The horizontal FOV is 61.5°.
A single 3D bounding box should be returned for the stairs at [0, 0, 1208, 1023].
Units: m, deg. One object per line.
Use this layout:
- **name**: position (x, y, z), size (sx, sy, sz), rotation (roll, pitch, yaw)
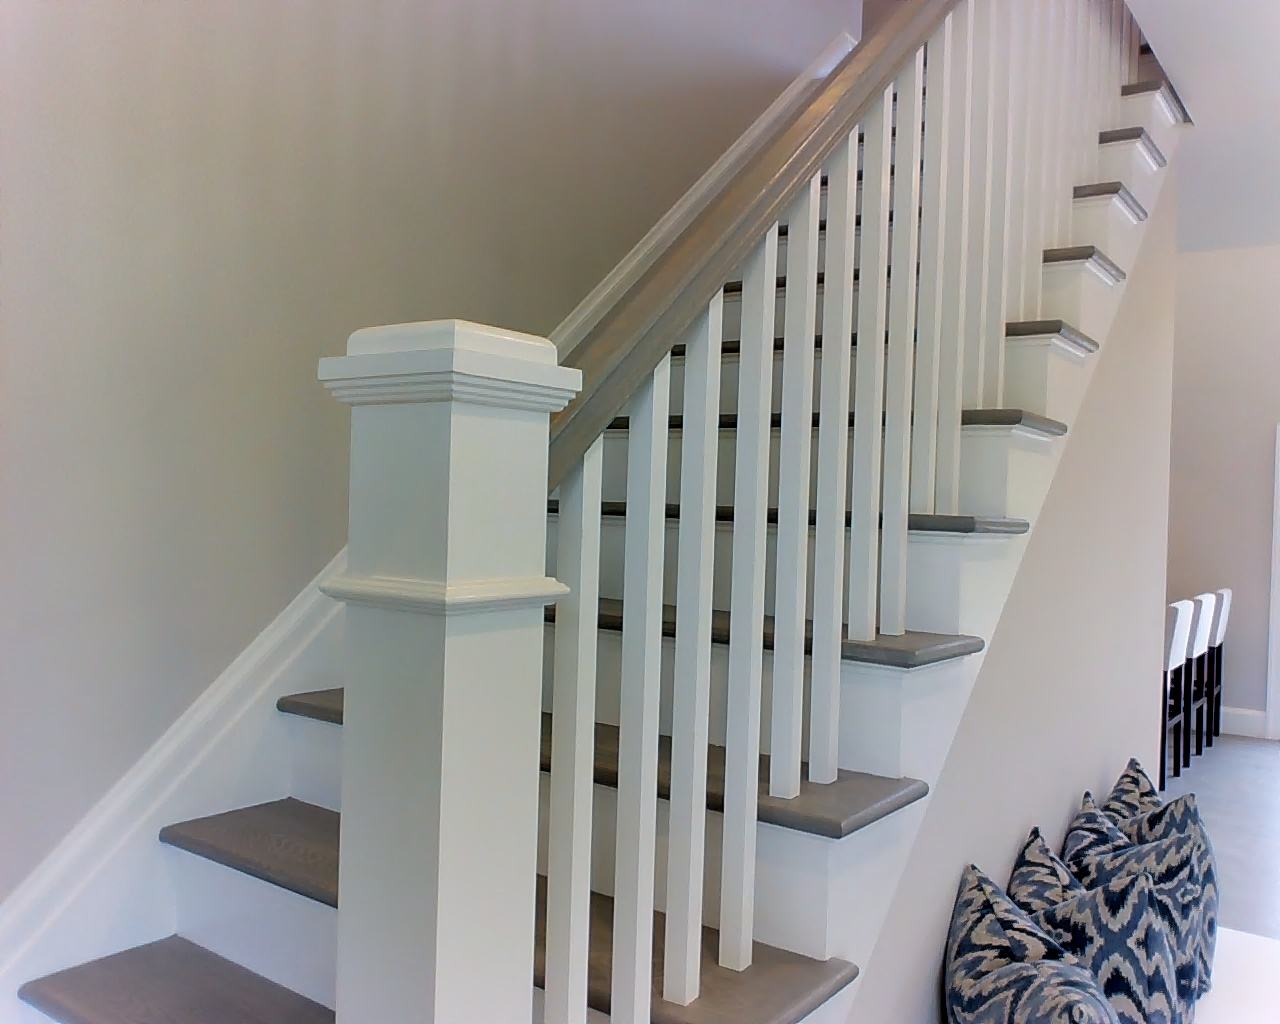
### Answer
- **stairs**: position (0.210, -0.030, 2.280), size (1.200, 0.530, 4.060), rotation (2, 39, 36)
